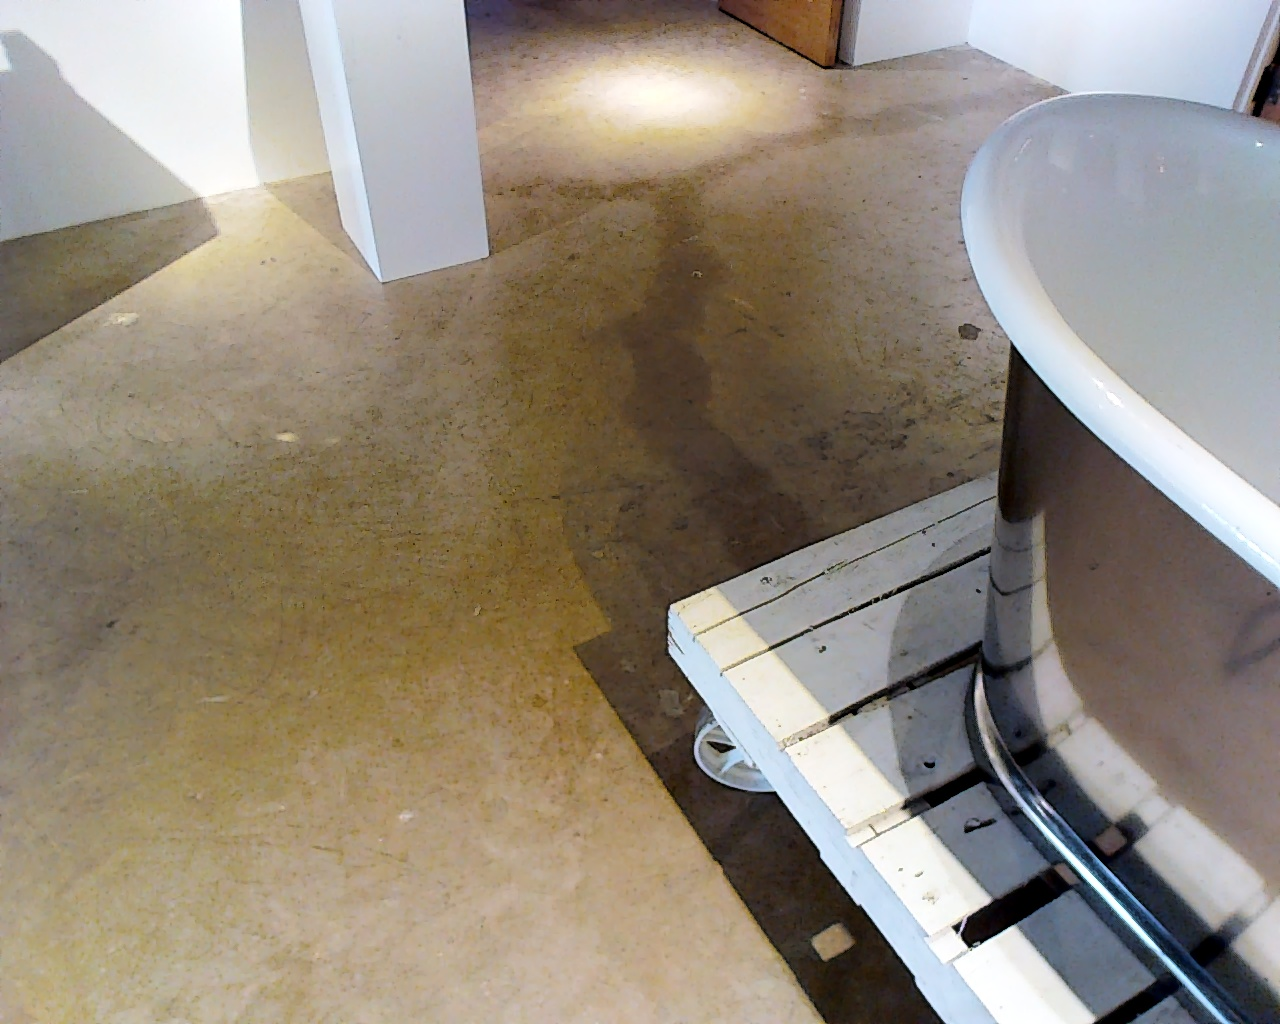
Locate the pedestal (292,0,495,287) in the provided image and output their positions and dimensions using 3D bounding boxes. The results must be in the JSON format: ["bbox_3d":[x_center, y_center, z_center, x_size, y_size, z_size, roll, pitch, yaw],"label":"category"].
[{"bbox_3d":[-0.650,-1.190,2.740,0.340,1.090,0.410,-19,46,-21],"label":"pedestal"}]
